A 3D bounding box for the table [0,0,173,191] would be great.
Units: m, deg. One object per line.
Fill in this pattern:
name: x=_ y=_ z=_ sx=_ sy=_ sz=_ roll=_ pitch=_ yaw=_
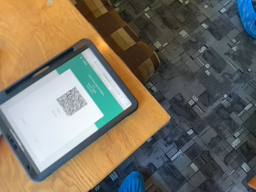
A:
table: x=-0.530 y=-0.200 z=0.780 sx=0.610 sy=0.640 sz=1.200 roll=-36 pitch=82 yaw=-10
